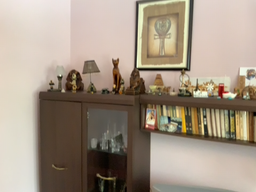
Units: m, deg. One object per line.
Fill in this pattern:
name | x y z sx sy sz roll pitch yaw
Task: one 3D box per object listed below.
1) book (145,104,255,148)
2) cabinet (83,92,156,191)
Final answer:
book | 0.570 0.180 1.300 0.950 0.180 0.150 3 5 29
cabinet | -0.060 0.510 1.630 0.400 1.050 0.390 3 5 29
